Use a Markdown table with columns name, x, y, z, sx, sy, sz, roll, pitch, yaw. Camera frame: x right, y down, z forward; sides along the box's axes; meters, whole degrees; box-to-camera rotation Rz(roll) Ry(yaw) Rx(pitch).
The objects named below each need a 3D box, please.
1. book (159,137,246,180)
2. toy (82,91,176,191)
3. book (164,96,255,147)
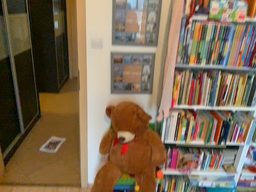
| name | x | y | z | sx | sy | sz | roll | pitch | yaw |
| --- | --- | --- | --- | --- | --- | --- | --- | --- | --- |
| book | 0.620 | 0.540 | 1.830 | 0.650 | 0.280 | 0.170 | 3 | 23 | -2 |
| toy | -0.020 | 0.560 | 1.640 | 0.540 | 1.050 | 0.490 | 5 | 23 | 1 |
| book | 1.000 | 0.220 | 1.690 | 1.370 | 0.290 | 0.220 | 3 | 23 | -2 |
